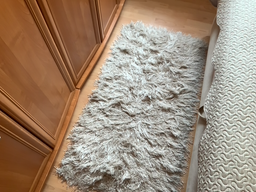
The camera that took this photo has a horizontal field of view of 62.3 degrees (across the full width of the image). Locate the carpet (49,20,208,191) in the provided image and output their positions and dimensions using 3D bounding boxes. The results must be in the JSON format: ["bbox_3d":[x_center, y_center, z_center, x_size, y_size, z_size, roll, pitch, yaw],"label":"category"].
[{"bbox_3d":[0.080,0.010,1.440,0.720,0.050,1.200,17,65,7],"label":"carpet"}]
